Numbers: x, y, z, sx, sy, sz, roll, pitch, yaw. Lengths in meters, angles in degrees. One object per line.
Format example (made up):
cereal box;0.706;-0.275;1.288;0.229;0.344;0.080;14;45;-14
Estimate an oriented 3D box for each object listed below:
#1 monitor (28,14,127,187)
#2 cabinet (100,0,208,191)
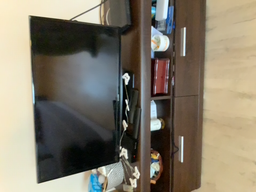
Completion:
monitor;-0.220;0.020;1.060;0.050;0.470;0.750;10;101;57
cabinet;0.150;0.000;1.370;0.450;0.490;1.210;8;100;56
